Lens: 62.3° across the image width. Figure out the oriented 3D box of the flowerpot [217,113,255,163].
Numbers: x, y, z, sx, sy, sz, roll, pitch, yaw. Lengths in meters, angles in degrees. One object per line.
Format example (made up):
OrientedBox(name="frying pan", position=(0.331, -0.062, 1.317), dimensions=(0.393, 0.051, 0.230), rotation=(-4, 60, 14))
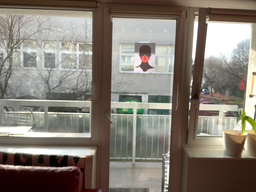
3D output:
OrientedBox(name="flowerpot", position=(1.190, 0.420, 2.200), dimensions=(0.380, 0.420, 0.330), rotation=(3, 5, 5))
